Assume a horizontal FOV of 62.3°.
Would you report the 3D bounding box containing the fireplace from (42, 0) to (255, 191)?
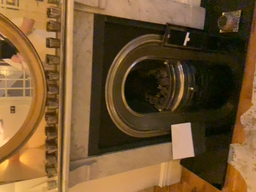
[{"bbox_3d":[0.100,-0.060,1.510,0.710,1.200,1.540,21,109,56],"label":"fireplace"}]
